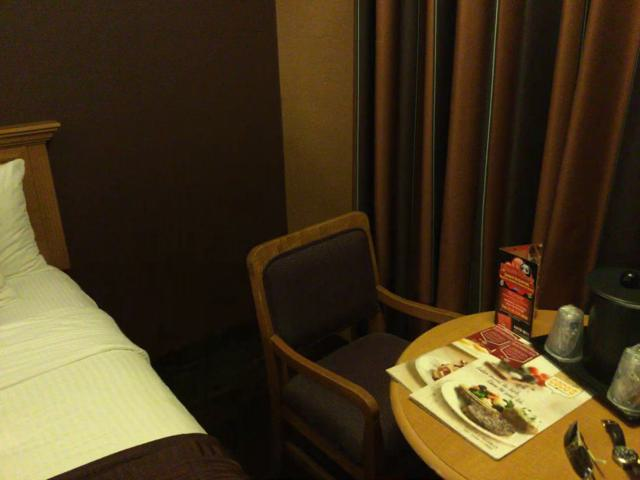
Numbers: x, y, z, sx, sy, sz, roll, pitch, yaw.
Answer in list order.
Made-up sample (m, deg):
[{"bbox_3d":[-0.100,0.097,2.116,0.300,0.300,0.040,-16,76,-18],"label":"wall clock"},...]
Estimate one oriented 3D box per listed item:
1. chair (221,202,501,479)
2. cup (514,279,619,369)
[{"bbox_3d":[0.140,0.420,1.810,0.570,0.920,0.590,12,22,39],"label":"chair"},{"bbox_3d":[0.580,0.190,1.360,0.200,0.120,0.140,-15,21,-37],"label":"cup"}]
